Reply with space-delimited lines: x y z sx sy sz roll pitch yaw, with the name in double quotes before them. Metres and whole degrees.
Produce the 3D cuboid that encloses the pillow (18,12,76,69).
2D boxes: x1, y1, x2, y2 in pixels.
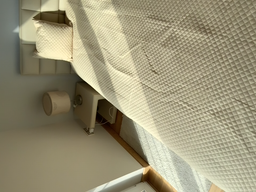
"pillow" -0.730 -0.520 1.960 0.210 0.370 0.410 34 136 41
